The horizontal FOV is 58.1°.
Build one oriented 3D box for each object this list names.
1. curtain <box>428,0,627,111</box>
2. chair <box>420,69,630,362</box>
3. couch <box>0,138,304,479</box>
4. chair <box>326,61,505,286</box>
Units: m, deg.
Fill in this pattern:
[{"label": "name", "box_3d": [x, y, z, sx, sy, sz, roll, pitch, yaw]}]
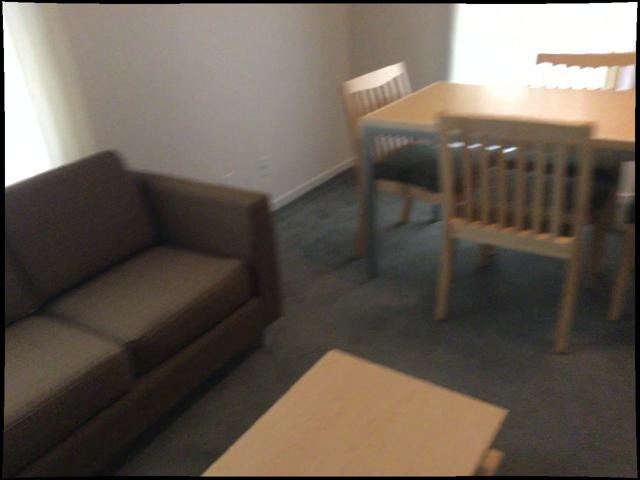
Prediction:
[{"label": "curtain", "box_3d": [1.077, -1.223, 3.080, 0.968, 0.952, 0.250, 13, 33, 35]}, {"label": "chair", "box_3d": [0.808, -0.140, 2.290, 0.529, 0.892, 0.670, 13, 34, 34]}, {"label": "couch", "box_3d": [-1.077, 0.411, 1.760, 0.948, 0.772, 2.039, 13, 33, 34]}, {"label": "chair", "box_3d": [0.489, -0.361, 2.830, 0.619, 0.892, 0.560, 13, 33, 35]}]
